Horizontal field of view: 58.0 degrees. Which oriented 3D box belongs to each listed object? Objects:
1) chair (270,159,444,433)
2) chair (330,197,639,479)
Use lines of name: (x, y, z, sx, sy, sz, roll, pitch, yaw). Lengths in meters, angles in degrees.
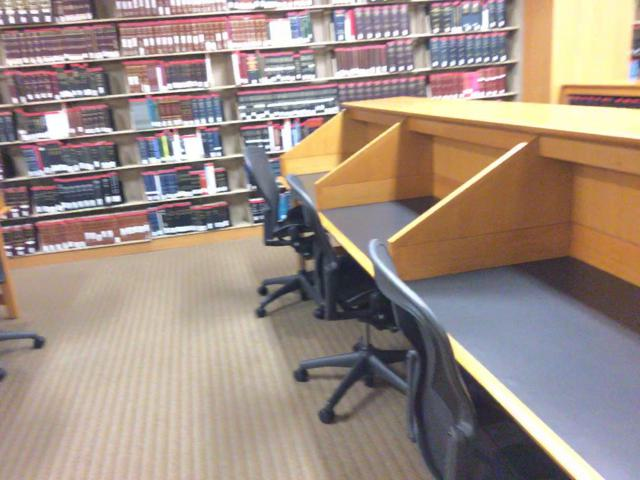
chair: (0.150, 0.200, 2.550, 0.570, 0.990, 0.590, -8, 16, -11)
chair: (0.460, 0.500, 1.460, 0.660, 1.040, 0.670, -8, 16, -11)
